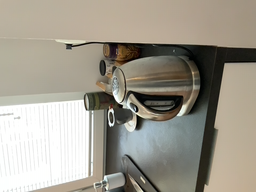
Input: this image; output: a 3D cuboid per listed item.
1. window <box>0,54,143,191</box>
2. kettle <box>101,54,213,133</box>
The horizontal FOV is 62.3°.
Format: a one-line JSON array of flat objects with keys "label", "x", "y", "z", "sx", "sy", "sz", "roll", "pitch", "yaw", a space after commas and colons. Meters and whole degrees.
[{"label": "window", "x": -0.670, "y": 0.590, "z": 1.100, "sx": 0.120, "sy": 1.530, "sz": 1.580, "roll": 31, "pitch": 121, "yaw": 60}, {"label": "kettle", "x": 0.070, "y": -0.030, "z": 0.650, "sx": 0.230, "sy": 0.240, "sz": 0.170, "roll": 32, "pitch": 122, "yaw": 59}]
